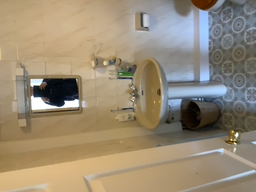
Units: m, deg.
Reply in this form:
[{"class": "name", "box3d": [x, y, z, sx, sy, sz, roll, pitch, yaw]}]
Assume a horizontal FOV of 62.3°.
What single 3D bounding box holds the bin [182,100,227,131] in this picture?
[{"class": "bin", "box3d": [0.780, 0.190, 2.180, 0.230, 0.350, 0.240, -156, 66, -64]}]
